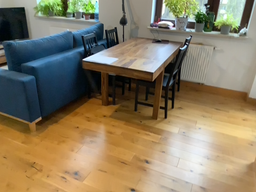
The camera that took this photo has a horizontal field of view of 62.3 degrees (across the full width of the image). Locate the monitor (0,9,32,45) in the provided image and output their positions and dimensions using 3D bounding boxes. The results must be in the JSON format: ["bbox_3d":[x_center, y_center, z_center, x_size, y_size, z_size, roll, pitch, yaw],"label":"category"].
[{"bbox_3d":[-2.360,-1.350,4.140,0.080,0.630,0.920,20,31,30],"label":"monitor"}]

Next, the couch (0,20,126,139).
[{"bbox_3d":[-0.960,-0.490,3.140,0.990,0.910,2.230,14,28,21],"label":"couch"}]
